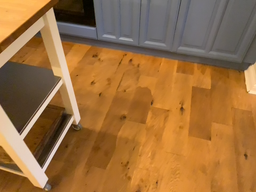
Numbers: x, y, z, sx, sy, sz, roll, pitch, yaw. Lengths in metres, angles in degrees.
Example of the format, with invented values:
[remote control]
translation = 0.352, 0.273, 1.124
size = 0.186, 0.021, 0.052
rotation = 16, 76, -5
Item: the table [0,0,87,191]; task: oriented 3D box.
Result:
[table]
translation = -0.730, -0.010, 1.070
size = 0.780, 0.900, 0.530
rotation = 13, 48, 10
